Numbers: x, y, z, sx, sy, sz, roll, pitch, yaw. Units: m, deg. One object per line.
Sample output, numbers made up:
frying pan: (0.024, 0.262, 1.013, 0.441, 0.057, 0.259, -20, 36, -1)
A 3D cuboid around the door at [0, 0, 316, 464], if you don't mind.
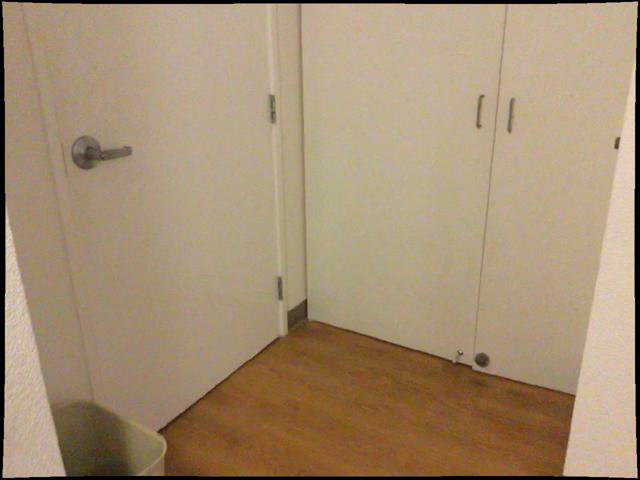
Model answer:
door: (-0.390, -0.430, 1.880, 0.130, 2.022, 1.120, 13, 27, 29)
